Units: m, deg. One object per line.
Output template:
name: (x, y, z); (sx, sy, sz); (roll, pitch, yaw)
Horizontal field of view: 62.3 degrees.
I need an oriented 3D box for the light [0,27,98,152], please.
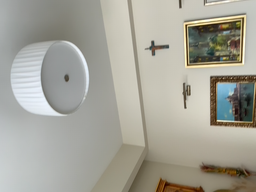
light: (-0.470, -0.090, 1.440); (0.390, 0.640, 0.560); (-11, -158, -7)
